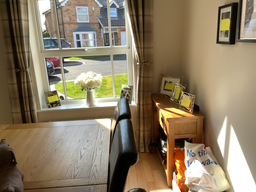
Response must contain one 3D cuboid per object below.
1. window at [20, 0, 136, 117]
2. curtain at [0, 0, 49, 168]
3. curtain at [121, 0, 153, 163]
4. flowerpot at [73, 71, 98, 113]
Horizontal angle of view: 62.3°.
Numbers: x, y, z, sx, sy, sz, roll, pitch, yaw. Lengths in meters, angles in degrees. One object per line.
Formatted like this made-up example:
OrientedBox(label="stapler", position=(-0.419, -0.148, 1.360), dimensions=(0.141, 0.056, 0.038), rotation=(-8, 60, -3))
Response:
OrientedBox(label="window", position=(-0.570, -0.590, 2.740), dimensions=(1.290, 1.660, 0.240), rotation=(-4, 16, -6))
OrientedBox(label="curtain", position=(-1.300, -0.220, 2.500), dimensions=(0.350, 2.290, 0.220), rotation=(-3, 16, -1))
OrientedBox(label="curtain", position=(0.120, -0.260, 2.600), dimensions=(0.330, 2.320, 0.180), rotation=(-4, 16, -6))
OrientedBox(label="flowerpot", position=(-0.550, -0.060, 2.820), dimensions=(0.250, 0.490, 0.310), rotation=(-3, 16, -5))
